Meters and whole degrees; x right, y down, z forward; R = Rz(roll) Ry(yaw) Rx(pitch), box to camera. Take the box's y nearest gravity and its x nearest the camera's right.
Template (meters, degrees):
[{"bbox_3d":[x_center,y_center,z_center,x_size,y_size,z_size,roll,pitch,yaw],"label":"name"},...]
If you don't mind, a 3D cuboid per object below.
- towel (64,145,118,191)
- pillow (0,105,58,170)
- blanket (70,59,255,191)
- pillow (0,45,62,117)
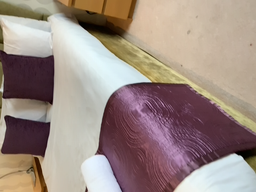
[{"bbox_3d":[-0.140,0.450,0.860,0.410,0.090,0.280,44,126,47],"label":"towel"},{"bbox_3d":[-0.890,0.360,1.860,0.180,0.380,0.410,38,146,42],"label":"pillow"},{"bbox_3d":[-0.040,0.680,1.080,0.460,0.410,1.640,49,129,44],"label":"blanket"},{"bbox_3d":[-0.760,-0.130,1.630,0.230,0.370,0.440,32,131,50],"label":"pillow"}]
